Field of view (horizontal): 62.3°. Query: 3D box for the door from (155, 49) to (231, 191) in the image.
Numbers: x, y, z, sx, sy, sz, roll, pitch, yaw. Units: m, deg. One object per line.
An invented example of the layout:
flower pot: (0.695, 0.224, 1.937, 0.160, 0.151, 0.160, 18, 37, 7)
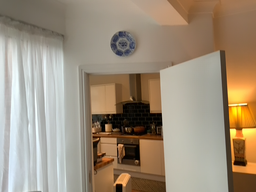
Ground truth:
door: (0.480, 0.760, 1.650, 0.060, 2.080, 0.740, -2, -2, -23)
